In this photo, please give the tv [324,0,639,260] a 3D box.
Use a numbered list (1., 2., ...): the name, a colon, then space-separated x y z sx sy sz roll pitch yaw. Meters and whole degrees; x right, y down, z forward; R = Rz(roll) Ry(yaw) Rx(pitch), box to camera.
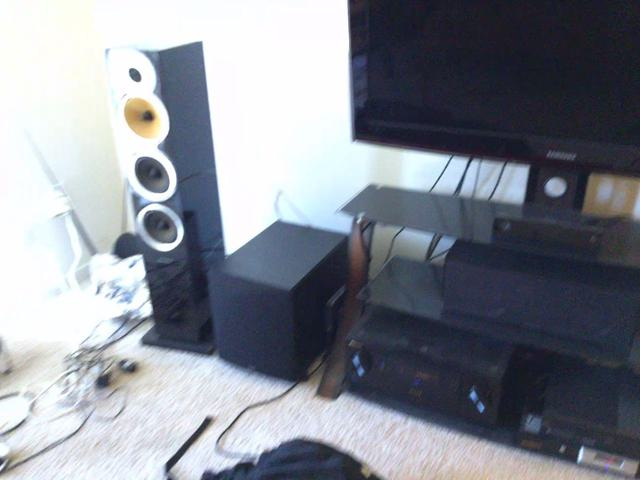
1. tv: 0.600 -0.420 1.370 1.180 0.900 0.250 1 8 29
